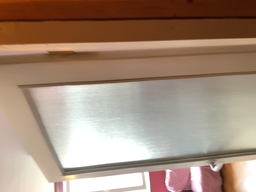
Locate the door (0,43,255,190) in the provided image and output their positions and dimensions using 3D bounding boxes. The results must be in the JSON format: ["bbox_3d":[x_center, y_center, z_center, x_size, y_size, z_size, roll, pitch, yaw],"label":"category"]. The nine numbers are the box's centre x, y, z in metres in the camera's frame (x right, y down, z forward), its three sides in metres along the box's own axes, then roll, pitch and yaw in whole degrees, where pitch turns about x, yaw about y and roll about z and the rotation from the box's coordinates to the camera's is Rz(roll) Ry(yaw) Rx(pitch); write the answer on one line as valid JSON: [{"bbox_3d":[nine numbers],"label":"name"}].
[{"bbox_3d":[0.570,0.130,0.990,0.830,2.060,0.130,96,168,-50],"label":"door"}]

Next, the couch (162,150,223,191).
[{"bbox_3d":[0.960,1.260,3.290,0.680,0.650,0.680,143,123,-81],"label":"couch"}]
